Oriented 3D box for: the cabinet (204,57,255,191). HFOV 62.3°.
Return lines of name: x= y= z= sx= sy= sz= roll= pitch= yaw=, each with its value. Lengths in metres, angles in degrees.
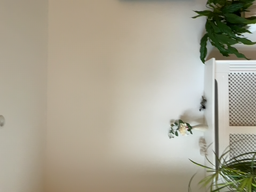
cabinet: x=1.150 y=0.290 z=1.840 sx=0.170 sy=0.900 sz=1.220 roll=46 pitch=-136 yaw=-88
